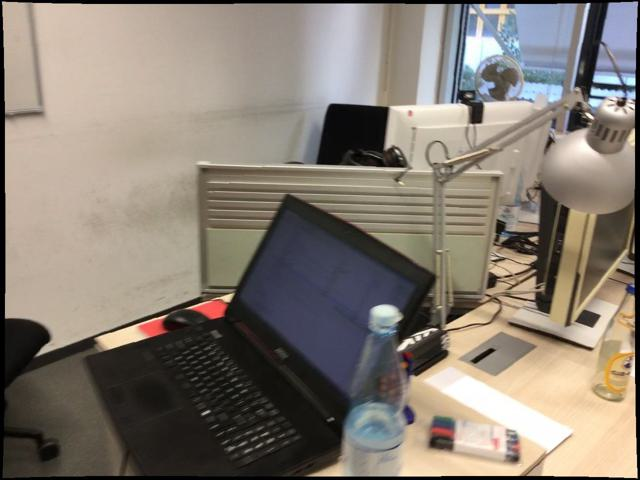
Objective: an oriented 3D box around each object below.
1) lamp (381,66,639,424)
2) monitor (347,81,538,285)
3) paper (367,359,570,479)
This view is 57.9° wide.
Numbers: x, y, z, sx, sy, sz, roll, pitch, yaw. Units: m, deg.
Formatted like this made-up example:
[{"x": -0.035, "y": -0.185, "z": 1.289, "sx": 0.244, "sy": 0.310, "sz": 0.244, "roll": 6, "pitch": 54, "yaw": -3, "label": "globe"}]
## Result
[{"x": 0.390, "y": -0.020, "z": 1.210, "sx": 0.460, "sy": 0.621, "sz": 0.200, "roll": 19, "pitch": 27, "yaw": 38, "label": "lamp"}, {"x": 0.400, "y": -0.220, "z": 1.860, "sx": 0.280, "sy": 0.500, "sz": 0.620, "roll": 19, "pitch": 27, "yaw": 38, "label": "monitor"}, {"x": 0.290, "y": 0.350, "z": 1.140, "sx": 0.310, "sy": 0.020, "sz": 0.240, "roll": 19, "pitch": 27, "yaw": 38, "label": "paper"}]
